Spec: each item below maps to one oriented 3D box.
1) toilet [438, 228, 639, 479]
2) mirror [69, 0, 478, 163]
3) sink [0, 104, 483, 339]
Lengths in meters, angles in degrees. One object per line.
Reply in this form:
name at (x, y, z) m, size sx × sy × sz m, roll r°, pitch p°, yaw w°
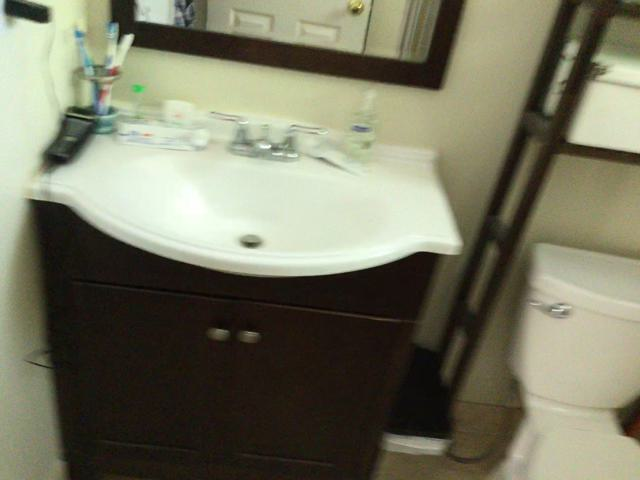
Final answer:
toilet at (0.640, 0.500, 1.320) m, size 0.450 × 0.740 × 0.730 m, roll 7°, pitch 31°, yaw -4°
mirror at (-0.060, -0.670, 1.030) m, size 0.770 × 1.010 × 0.110 m, roll 7°, pitch 31°, yaw -4°
sink at (-0.130, -0.060, 1.140) m, size 0.770 × 0.180 × 0.440 m, roll 7°, pitch 31°, yaw -4°
